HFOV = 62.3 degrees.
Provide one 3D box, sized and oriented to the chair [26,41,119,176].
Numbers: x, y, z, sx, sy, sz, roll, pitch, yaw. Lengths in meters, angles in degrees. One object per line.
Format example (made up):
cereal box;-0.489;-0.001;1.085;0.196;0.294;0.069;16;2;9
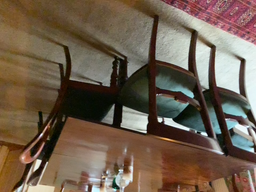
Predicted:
chair;-0.360;0.090;1.630;0.460;0.870;0.470;8;146;-7

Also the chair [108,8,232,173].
chair;0.210;-0.030;1.400;0.480;0.870;0.500;14;145;-16

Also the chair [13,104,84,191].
chair;-0.900;0.640;2.470;0.520;0.880;0.490;15;144;-18

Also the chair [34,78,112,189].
chair;-0.510;0.370;2.050;0.500;0.860;0.490;15;144;-18
